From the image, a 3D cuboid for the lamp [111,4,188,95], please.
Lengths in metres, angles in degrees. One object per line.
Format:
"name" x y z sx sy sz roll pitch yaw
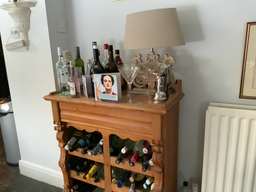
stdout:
"lamp" 0.140 -0.280 1.320 0.380 0.470 0.270 6 17 27
